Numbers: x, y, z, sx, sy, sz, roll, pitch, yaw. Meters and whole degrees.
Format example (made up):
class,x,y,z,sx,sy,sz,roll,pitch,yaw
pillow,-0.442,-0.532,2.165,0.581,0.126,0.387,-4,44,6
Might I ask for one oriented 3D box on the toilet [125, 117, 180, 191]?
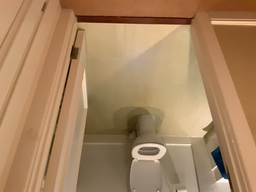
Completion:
class,x,y,z,sx,sy,sz,roll,pitch,yaw
toilet,0.200,0.750,2.250,0.410,0.790,0.680,-2,143,-4
